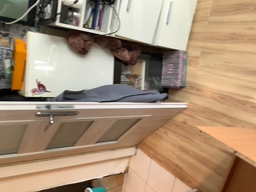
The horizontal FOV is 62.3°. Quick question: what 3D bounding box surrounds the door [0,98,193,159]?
[{"bbox_3d":[-0.530,0.250,1.480,0.860,2.060,0.080,-41,57,45],"label":"door"}]
